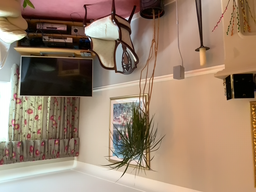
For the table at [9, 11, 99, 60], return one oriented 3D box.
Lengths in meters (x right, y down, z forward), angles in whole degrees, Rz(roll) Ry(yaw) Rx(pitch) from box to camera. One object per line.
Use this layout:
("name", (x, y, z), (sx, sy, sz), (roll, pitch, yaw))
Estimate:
("table", (-1.130, -0.940, 3.450), (1.270, 0.510, 0.610), (0, 174, -10))
